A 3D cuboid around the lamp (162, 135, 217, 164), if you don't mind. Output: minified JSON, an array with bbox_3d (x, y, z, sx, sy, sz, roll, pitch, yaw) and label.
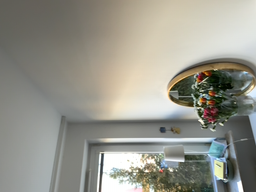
[{"bbox_3d":[0.620,0.550,2.200,0.220,0.500,0.190,-87,-4,-66],"label":"lamp"}]
